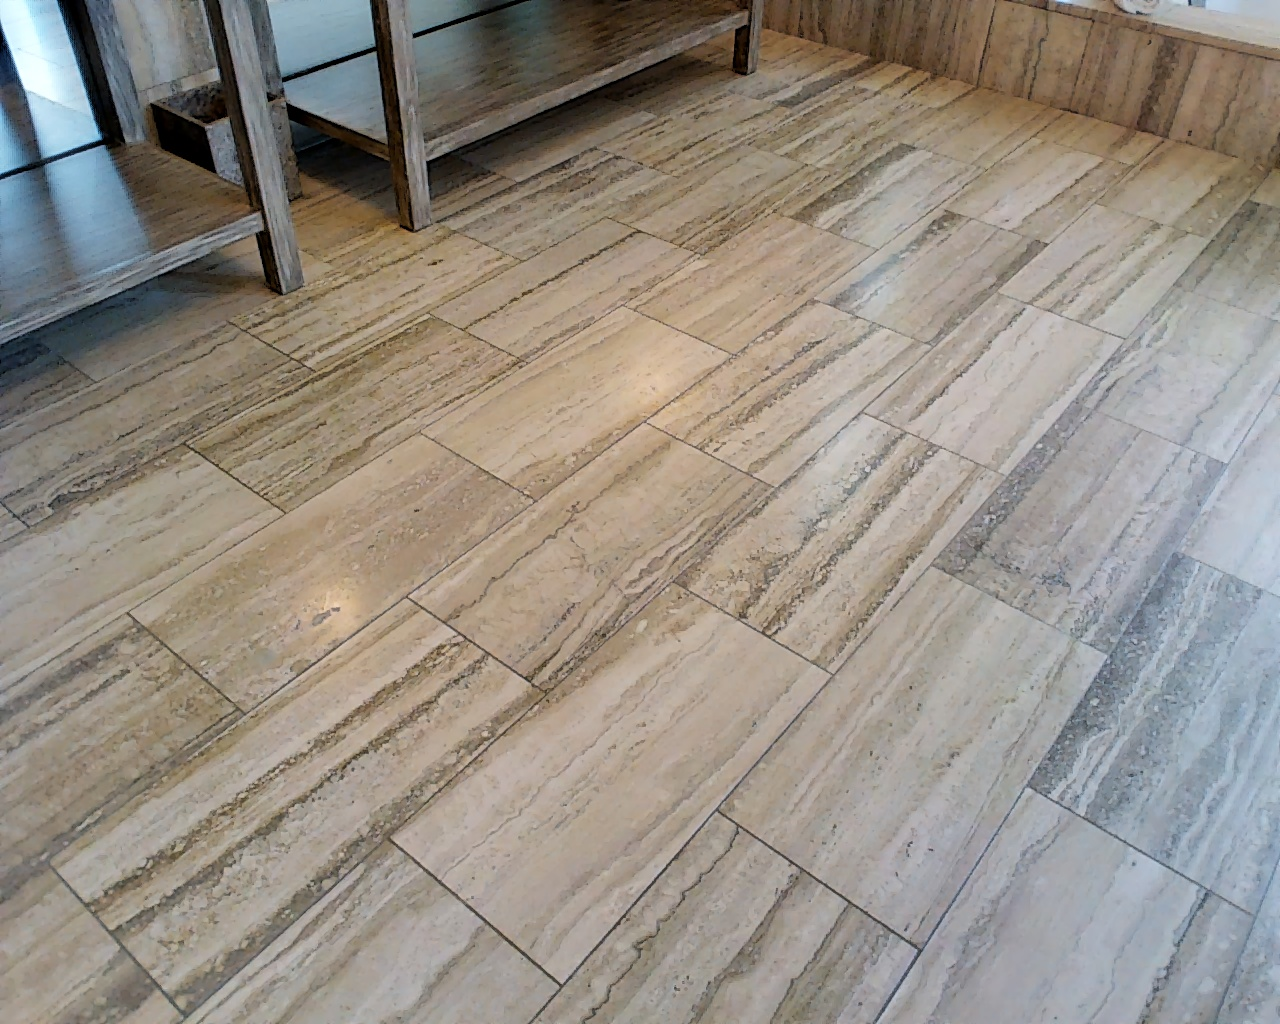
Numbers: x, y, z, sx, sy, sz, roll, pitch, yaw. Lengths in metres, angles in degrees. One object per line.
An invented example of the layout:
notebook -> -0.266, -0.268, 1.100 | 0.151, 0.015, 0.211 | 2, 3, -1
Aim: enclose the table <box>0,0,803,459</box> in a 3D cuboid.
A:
table -> -0.940, -1.080, 2.510 | 0.930, 0.790, 3.580 | 28, 48, 27
